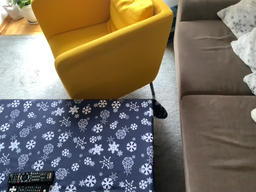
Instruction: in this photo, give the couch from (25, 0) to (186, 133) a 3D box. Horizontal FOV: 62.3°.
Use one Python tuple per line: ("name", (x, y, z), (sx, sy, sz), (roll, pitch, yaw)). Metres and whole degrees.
("couch", (-0.170, -0.350, 1.570), (0.780, 0.720, 0.760), (-21, 57, -10))
